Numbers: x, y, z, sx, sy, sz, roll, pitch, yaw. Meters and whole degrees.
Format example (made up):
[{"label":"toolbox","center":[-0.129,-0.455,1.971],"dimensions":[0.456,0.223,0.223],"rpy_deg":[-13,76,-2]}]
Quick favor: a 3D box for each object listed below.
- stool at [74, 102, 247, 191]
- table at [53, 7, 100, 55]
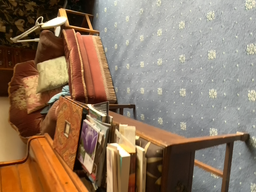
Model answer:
[{"label":"stool","center":[0.080,0.300,1.250],"dimensions":[0.920,0.490,0.370],"rpy_deg":[17,103,56]},{"label":"table","center":[-0.580,-0.700,2.350],"dimensions":[0.330,0.390,0.300],"rpy_deg":[-49,51,45]}]
